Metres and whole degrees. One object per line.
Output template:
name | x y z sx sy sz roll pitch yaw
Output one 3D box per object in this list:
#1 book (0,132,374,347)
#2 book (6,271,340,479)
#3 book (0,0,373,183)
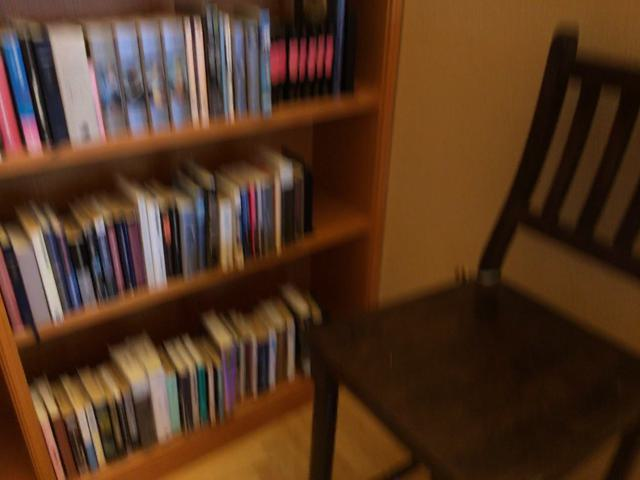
book | -0.280 -0.050 1.390 0.920 0.270 0.170 -16 30 -33
book | -0.340 0.360 1.560 0.830 0.290 0.200 -16 30 -33
book | -0.320 -0.400 1.240 0.870 0.350 0.300 -16 30 -33
